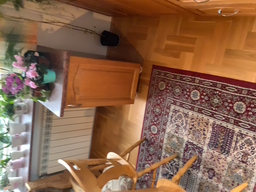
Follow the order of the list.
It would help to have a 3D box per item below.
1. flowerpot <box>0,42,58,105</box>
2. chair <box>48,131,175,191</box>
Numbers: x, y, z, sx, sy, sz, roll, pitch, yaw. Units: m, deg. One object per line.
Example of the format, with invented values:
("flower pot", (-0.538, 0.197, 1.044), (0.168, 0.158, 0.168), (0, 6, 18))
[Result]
("flowerpot", (-0.770, -0.180, 1.610), (0.440, 0.260, 0.380), (21, 106, 45))
("chair", (-0.120, 0.670, 1.700), (0.390, 0.870, 0.530), (34, 115, 41))
